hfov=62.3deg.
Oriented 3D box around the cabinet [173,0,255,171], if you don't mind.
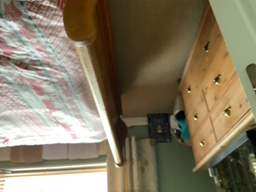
[{"bbox_3d":[0.730,-0.060,1.560,0.460,0.920,1.170,-4,149,-1],"label":"cabinet"}]
